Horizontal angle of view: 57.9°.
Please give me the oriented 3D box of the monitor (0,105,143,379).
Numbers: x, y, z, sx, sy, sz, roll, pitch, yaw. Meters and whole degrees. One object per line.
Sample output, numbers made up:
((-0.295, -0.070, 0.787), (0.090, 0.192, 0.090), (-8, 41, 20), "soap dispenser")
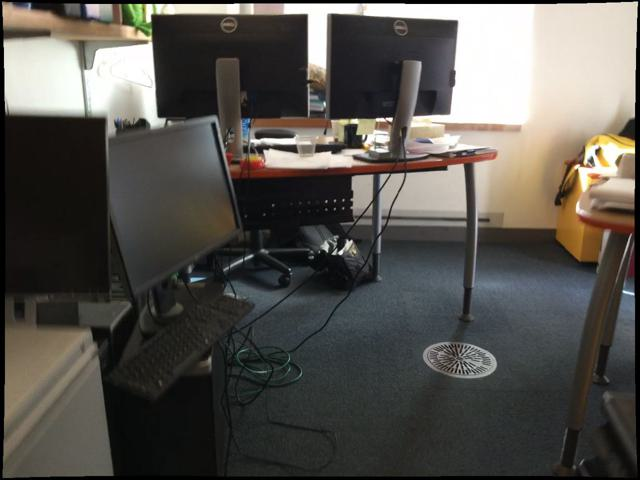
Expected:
((-0.559, 0.000, 1.180), (0.300, 0.510, 0.200), (3, 19, 2), "monitor")

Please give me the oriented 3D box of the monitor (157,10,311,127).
((-0.290, -0.601, 2.030), (0.499, 0.360, 0.150), (3, 19, 2), "monitor")

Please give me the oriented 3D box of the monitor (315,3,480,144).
((0.260, -0.621, 2.140), (0.519, 0.440, 0.410), (3, 19, 2), "monitor")
